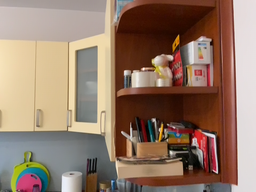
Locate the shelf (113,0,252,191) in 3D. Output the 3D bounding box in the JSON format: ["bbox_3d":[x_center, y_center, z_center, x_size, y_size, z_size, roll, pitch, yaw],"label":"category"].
[{"bbox_3d":[0.130,-0.130,0.660,0.320,0.720,0.290,1,-3,-9],"label":"shelf"}]
